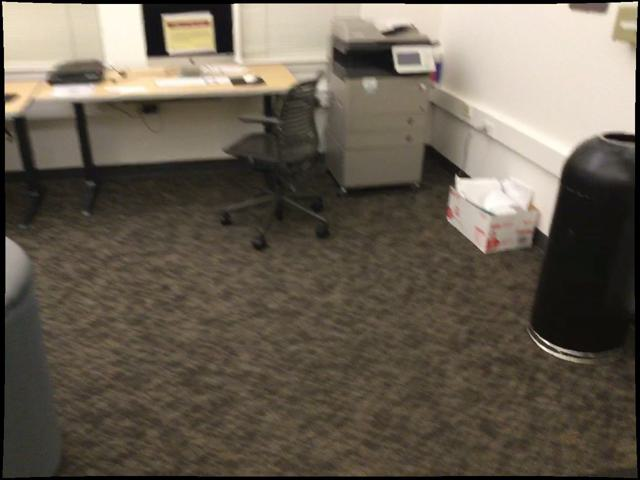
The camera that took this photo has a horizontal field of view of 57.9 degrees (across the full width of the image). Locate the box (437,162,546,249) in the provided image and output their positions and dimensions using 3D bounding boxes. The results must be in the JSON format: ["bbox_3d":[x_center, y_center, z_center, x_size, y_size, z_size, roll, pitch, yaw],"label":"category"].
[{"bbox_3d":[0.929,-0.210,3.220,0.330,0.240,0.590,-6,28,-10],"label":"box"}]

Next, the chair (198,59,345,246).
[{"bbox_3d":[-0.240,-0.501,3.170,0.570,0.831,0.510,14,31,25],"label":"chair"}]
